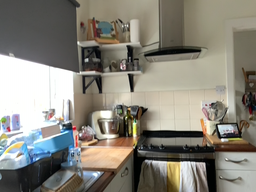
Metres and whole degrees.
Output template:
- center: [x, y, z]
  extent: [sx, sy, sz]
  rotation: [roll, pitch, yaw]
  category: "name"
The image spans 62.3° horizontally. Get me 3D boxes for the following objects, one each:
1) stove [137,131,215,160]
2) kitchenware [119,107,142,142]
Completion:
- center: [0.440, 0.440, 1.980]
  extent: [0.600, 0.100, 0.640]
  rotation: [-1, 0, 13]
  category: "stove"
- center: [0.030, 0.300, 2.310]
  extent: [0.200, 0.350, 0.220]
  rotation: [-1, 0, 12]
  category: "kitchenware"
